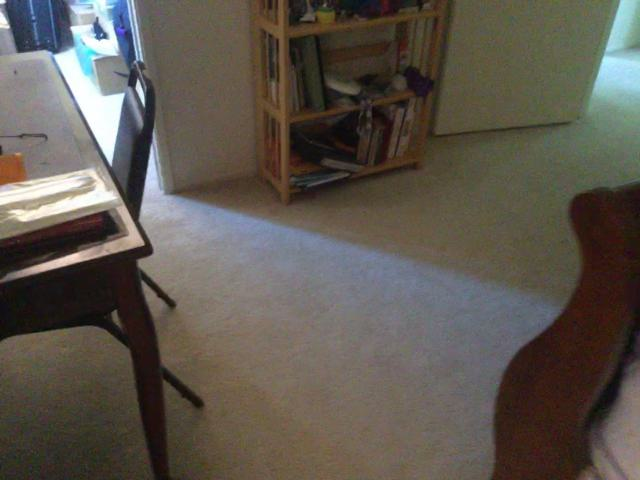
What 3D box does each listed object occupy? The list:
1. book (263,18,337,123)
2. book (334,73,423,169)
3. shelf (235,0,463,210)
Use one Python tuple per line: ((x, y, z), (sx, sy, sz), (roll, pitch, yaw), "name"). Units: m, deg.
((-0.070, -0.620, 2.110), (0.200, 0.300, 0.170), (-20, 41, -24), "book")
((0.240, -0.510, 2.460), (0.290, 0.280, 0.220), (-20, 41, -24), "book")
((0.120, -0.660, 2.310), (0.780, 0.820, 0.350), (-20, 41, -24), "shelf")
